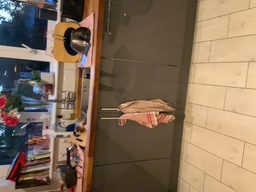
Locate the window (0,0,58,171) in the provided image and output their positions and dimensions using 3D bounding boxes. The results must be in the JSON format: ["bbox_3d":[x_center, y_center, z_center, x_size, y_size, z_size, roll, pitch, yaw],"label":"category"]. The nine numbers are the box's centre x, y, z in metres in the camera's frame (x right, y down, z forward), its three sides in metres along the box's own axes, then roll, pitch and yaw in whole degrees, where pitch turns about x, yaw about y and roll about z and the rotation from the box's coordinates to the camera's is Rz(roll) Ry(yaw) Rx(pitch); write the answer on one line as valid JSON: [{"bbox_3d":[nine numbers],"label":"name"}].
[{"bbox_3d":[-1.170,-0.140,1.930,0.050,0.930,1.710,-162,75,-63],"label":"window"}]

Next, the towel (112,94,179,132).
[{"bbox_3d":[0.150,0.130,1.660,0.080,0.530,0.270,-160,74,-63],"label":"towel"}]

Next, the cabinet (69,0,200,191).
[{"bbox_3d":[0.030,-0.300,1.910,0.590,0.880,2.180,-162,75,-63],"label":"cabinet"}]
